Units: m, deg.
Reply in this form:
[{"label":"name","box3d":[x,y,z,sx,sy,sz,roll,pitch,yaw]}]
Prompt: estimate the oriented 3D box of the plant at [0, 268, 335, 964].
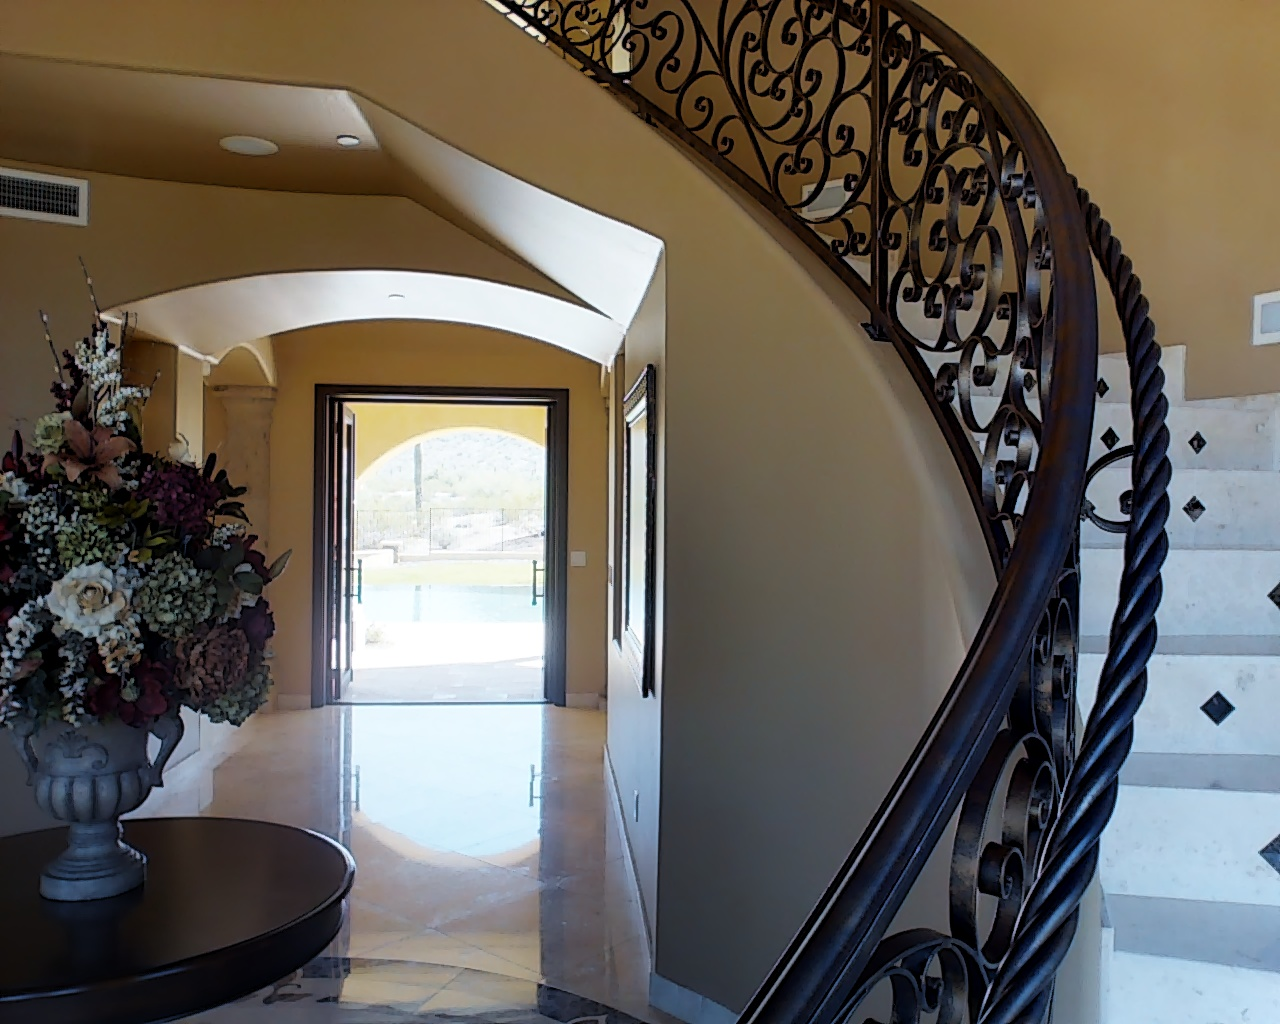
[{"label":"plant","box3d":[-1.130,0.180,2.240,0.790,1.190,0.780,1,0,-26]}]
